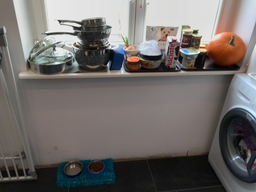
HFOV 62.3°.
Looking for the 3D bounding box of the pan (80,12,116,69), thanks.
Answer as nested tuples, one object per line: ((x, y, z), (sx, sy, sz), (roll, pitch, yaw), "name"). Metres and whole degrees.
((-0.200, -0.380, 1.430), (0.210, 0.300, 0.290), (-2, 30, -8), "pan")
